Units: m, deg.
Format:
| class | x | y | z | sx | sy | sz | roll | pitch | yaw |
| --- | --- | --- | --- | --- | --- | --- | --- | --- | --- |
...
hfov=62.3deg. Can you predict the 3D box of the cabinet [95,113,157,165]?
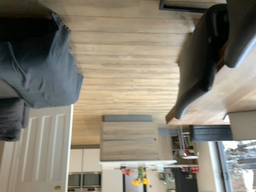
| class | x | y | z | sx | sy | sz | roll | pitch | yaw |
| --- | --- | --- | --- | --- | --- | --- | --- | --- | --- |
| cabinet | -0.070 | 0.860 | 4.220 | 1.110 | 0.910 | 0.590 | 0 | 159 | -6 |
